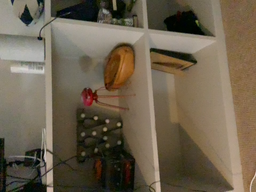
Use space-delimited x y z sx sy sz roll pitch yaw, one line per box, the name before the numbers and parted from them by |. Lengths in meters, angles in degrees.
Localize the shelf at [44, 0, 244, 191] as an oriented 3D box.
shelf | 0.040 0.100 1.010 0.390 0.800 2.090 158 109 -68
